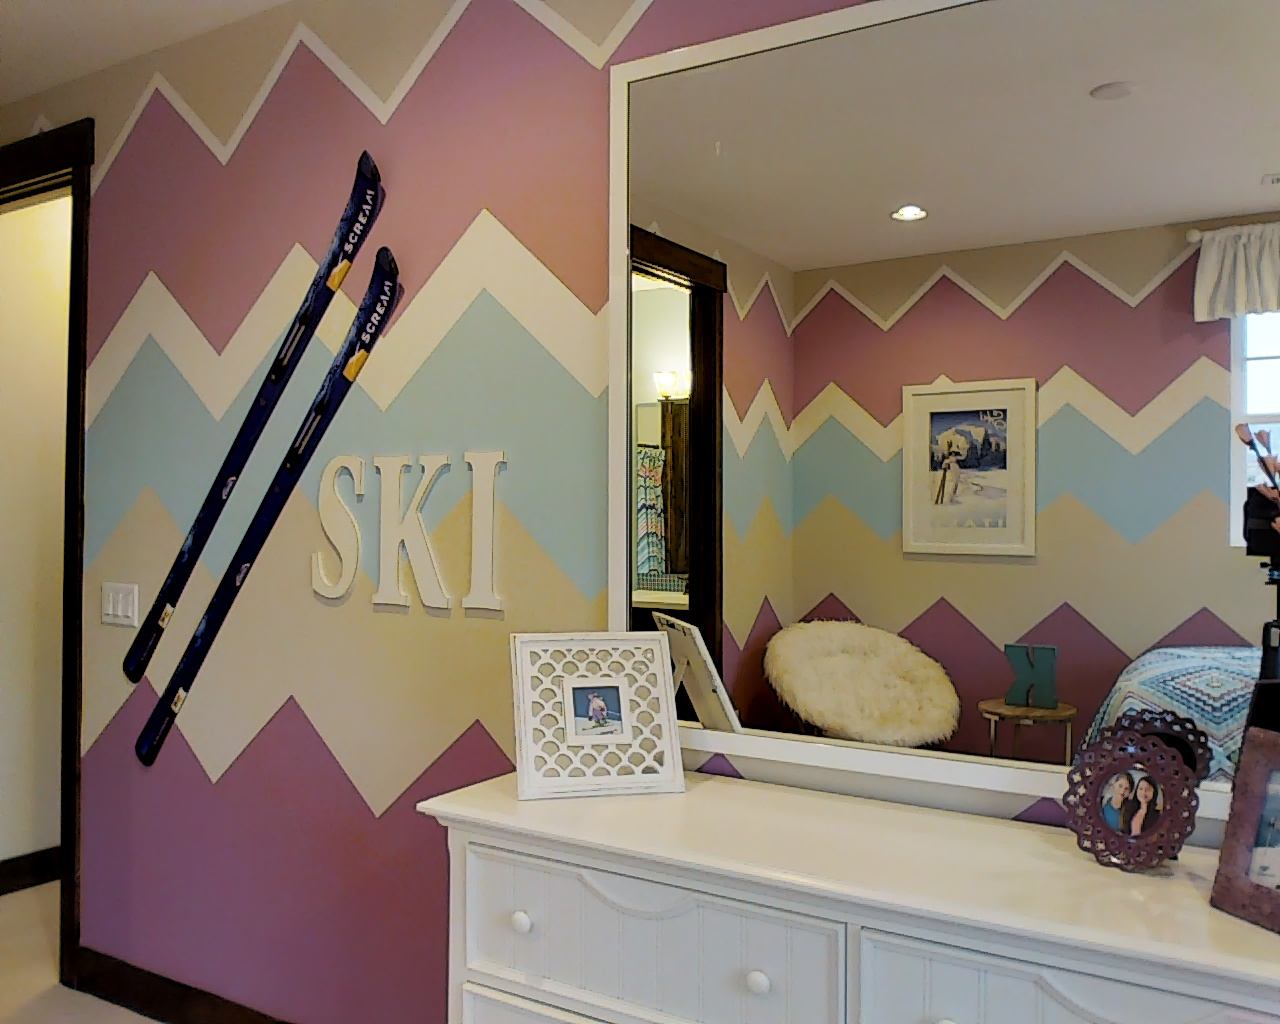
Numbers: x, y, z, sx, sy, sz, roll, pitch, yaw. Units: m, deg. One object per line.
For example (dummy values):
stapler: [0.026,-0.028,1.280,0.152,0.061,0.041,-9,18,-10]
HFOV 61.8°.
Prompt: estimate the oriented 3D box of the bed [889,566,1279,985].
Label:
bed: [2.060,0.830,4.220,1.550,1.110,2.050,0,0,31]

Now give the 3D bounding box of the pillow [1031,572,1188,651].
pillow: [2.180,0.450,4.970,0.620,0.300,0.420,0,0,31]

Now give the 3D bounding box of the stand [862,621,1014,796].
stand: [1.520,0.970,5.450,0.650,0.760,0.460,0,0,31]
